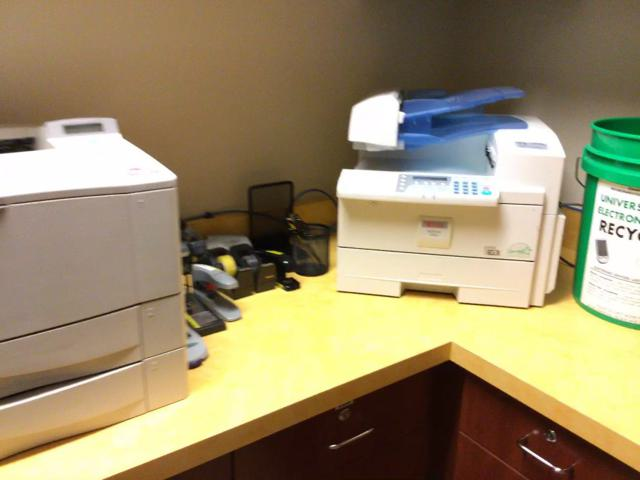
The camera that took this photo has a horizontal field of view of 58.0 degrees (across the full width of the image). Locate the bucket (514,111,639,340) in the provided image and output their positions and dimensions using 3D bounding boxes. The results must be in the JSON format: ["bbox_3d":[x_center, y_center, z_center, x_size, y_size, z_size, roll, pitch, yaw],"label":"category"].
[{"bbox_3d":[0.670,-0.050,1.170,0.350,0.370,0.340,-11,22,-33],"label":"bucket"}]

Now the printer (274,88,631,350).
[{"bbox_3d":[0.260,-0.110,1.280,0.540,0.400,0.500,-11,22,-33],"label":"printer"}]

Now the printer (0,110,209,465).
[{"bbox_3d":[-0.460,0.030,0.880,0.420,0.390,0.430,-11,22,-33],"label":"printer"}]

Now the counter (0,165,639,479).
[{"bbox_3d":[0.570,0.390,0.390,1.530,0.270,2.800,-11,22,-33],"label":"counter"}]
